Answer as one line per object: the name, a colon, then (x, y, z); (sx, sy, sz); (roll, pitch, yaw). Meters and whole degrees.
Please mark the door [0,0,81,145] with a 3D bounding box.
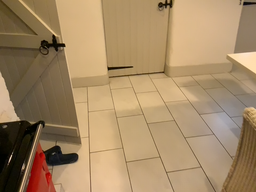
door: (-0.830, -0.430, 1.440); (0.760, 1.940, 0.100); (4, 34, 8)
